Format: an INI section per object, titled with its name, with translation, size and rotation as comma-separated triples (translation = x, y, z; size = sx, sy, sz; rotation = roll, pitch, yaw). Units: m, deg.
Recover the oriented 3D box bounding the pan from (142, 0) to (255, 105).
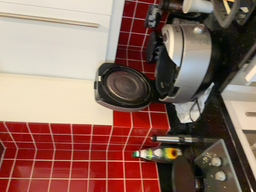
[pan]
translation = 0.250, -0.190, 0.910
size = 0.340, 0.280, 0.300
rotation = 106, 164, -50
